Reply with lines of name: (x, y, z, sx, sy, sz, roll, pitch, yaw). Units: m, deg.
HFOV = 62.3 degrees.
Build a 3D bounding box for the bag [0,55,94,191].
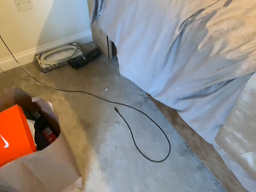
bag: (-0.410, 0.190, 0.920, 0.300, 0.420, 0.550, -22, 55, -18)
